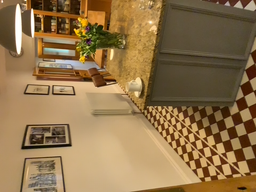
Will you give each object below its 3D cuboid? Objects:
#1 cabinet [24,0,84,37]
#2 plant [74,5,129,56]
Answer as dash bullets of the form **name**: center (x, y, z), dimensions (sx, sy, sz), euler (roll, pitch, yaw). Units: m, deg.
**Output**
- **cabinet**: center (-1.760, -2.060, 5.110), dimensions (0.310, 1.290, 1.100), euler (-130, 44, -60)
- **plant**: center (-0.280, -0.650, 2.110), dimensions (0.380, 0.440, 0.410), euler (-132, 46, -62)
